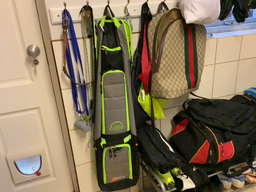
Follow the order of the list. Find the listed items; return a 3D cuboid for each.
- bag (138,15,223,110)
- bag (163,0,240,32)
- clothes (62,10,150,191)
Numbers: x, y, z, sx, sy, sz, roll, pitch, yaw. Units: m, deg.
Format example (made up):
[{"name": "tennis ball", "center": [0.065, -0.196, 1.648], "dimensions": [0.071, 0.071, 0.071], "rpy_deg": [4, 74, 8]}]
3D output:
[{"name": "bag", "center": [0.270, -0.190, 1.130], "dimensions": [0.390, 0.430, 0.150], "rpy_deg": [-12, 24, -19]}, {"name": "bag", "center": [0.360, -0.500, 1.060], "dimensions": [0.290, 0.300, 0.230], "rpy_deg": [-13, 24, -20]}, {"name": "clothes", "center": [-0.080, 0.160, 1.160], "dimensions": [0.330, 1.150, 0.190], "rpy_deg": [-12, 24, -19]}]
